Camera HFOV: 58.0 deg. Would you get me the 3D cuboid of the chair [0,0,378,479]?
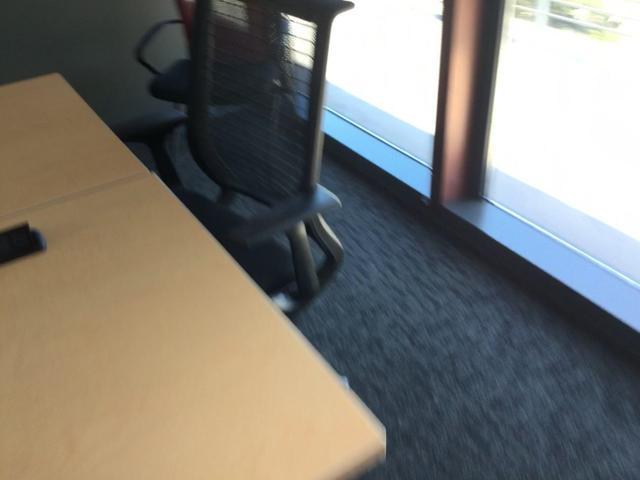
[{"bbox_3d":[-0.340,0.000,1.340,0.740,1.000,0.590,-26,40,-30],"label":"chair"}]
